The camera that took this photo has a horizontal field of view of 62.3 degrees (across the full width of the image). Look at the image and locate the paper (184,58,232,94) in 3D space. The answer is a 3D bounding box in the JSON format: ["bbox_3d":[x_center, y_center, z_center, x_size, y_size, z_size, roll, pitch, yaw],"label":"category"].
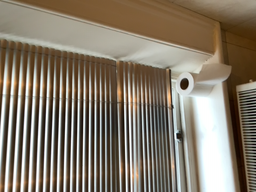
[{"bbox_3d":[0.300,-0.070,0.800,0.110,0.130,0.100,-13,74,58],"label":"paper"}]
